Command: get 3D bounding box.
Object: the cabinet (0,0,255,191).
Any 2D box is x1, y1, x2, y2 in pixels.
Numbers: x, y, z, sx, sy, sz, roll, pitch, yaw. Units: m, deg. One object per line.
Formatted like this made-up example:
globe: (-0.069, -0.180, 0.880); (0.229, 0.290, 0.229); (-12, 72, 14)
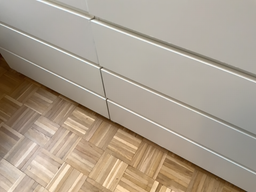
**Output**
cabinet: (-0.030, -0.280, 0.910); (1.620, 0.980, 0.550); (23, 59, 15)
